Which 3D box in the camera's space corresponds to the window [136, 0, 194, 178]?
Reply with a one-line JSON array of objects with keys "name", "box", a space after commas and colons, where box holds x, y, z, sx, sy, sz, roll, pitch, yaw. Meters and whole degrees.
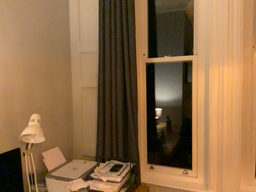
[{"name": "window", "box": [0.360, -0.330, 2.080, 0.540, 2.220, 0.120, 1, 5, 20]}]

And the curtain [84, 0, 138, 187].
[{"name": "curtain", "box": [-0.150, -0.420, 1.930, 0.410, 2.410, 0.220, 1, 5, 20]}]
